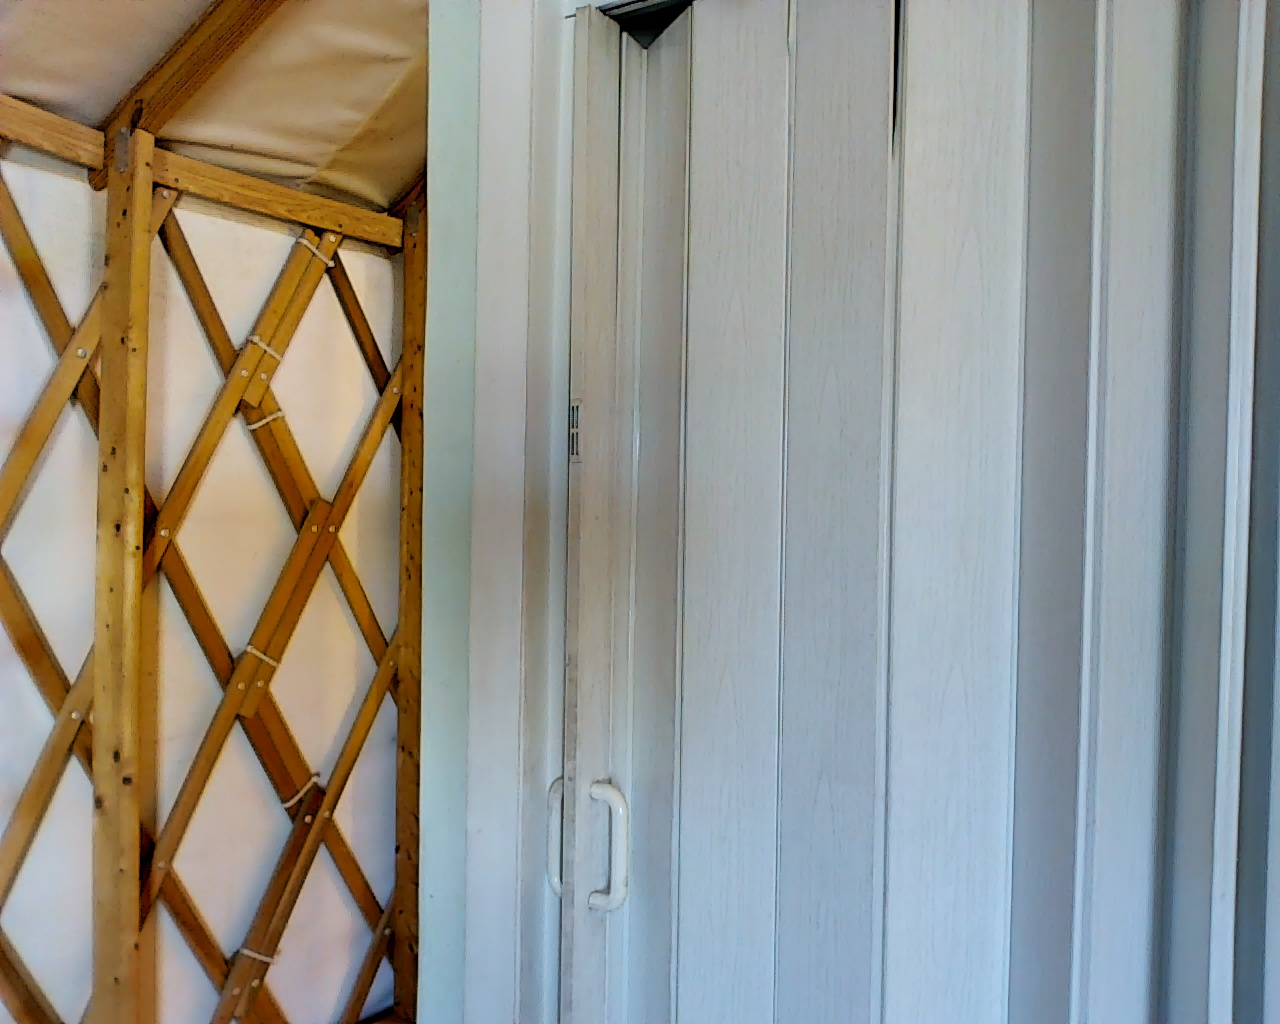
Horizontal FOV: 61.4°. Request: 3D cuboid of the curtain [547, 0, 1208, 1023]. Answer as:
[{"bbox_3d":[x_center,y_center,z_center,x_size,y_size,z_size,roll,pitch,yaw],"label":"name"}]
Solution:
[{"bbox_3d":[0.170,0.510,0.920,0.530,2.020,0.130,1,1,33],"label":"curtain"}]
